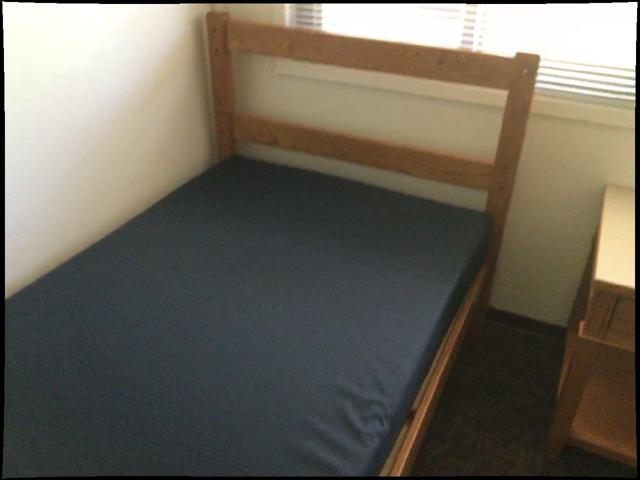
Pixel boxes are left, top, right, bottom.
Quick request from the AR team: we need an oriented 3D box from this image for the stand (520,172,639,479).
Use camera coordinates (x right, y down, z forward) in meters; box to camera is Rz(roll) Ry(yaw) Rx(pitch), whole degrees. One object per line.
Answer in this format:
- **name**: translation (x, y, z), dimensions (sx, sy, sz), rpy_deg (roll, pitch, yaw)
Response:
- **stand**: translation (0.918, 0.261, 1.500), dimensions (0.569, 0.601, 0.520), rpy_deg (16, 36, 19)

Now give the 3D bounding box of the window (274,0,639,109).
- **window**: translation (0.499, -0.672, 1.640), dimensions (1.297, 0.371, 0.250), rpy_deg (16, 36, 19)
